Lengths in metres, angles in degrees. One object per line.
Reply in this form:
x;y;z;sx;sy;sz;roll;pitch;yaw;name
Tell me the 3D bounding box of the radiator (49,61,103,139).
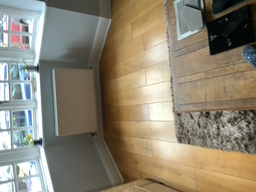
-0.670;0.040;2.770;0.160;0.620;0.940;-8;85;56;radiator
